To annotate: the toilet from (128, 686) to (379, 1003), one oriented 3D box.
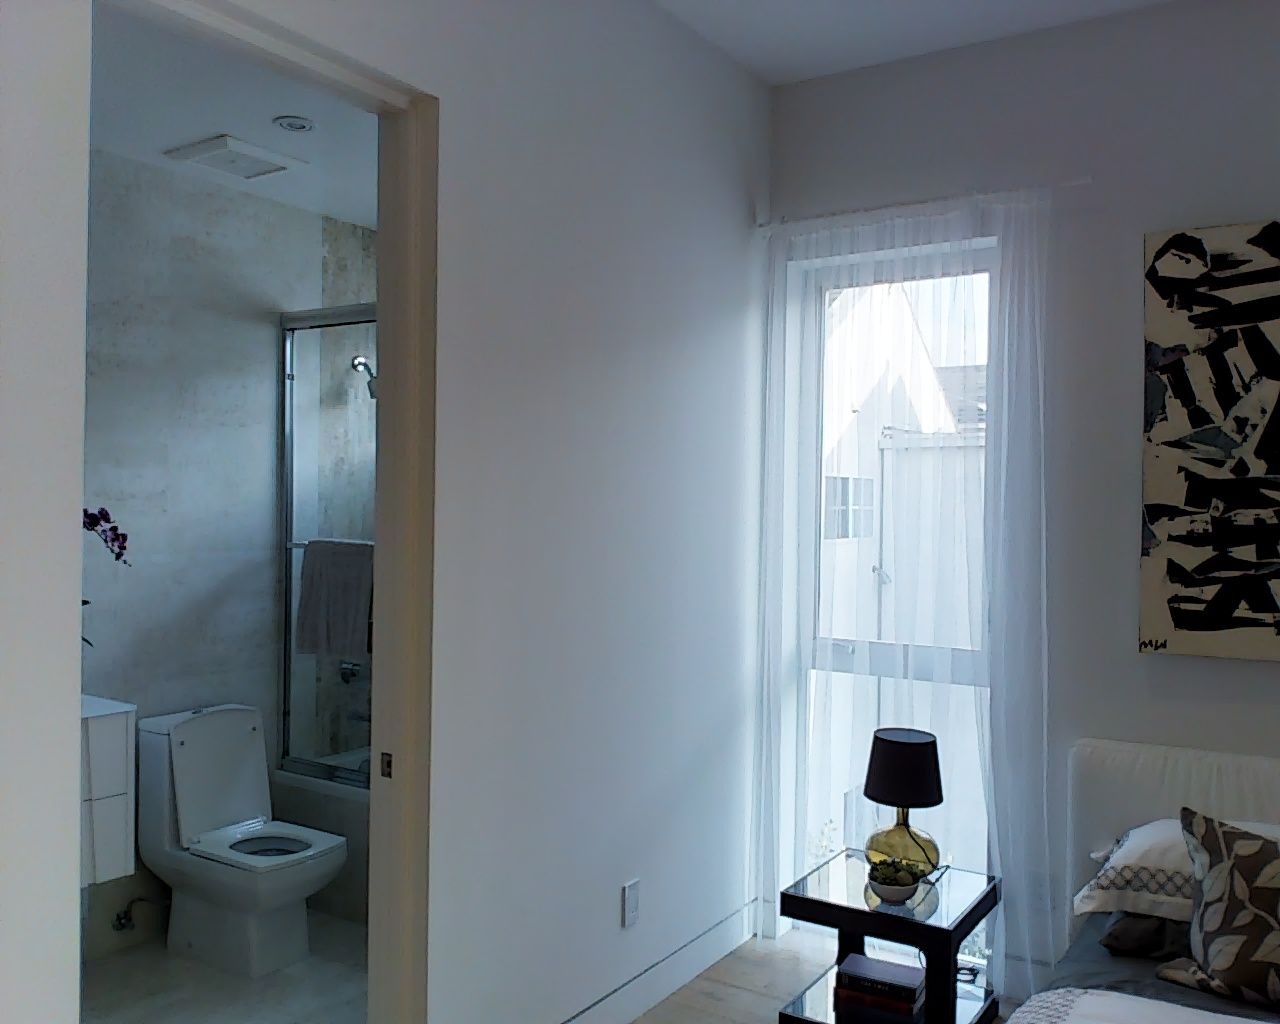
[{"bbox_3d":[-1.309,1.070,3.640,0.720,0.830,0.450,1,0,33],"label":"toilet"}]
